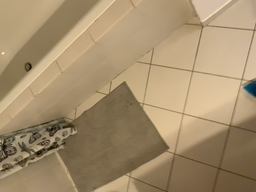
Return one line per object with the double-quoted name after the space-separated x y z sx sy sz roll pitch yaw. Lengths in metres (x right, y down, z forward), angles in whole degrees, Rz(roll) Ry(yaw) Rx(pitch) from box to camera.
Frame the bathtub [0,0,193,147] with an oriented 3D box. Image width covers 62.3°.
-0.480 -0.400 1.250 1.360 0.550 0.850 -35 81 23 "bathtub"
